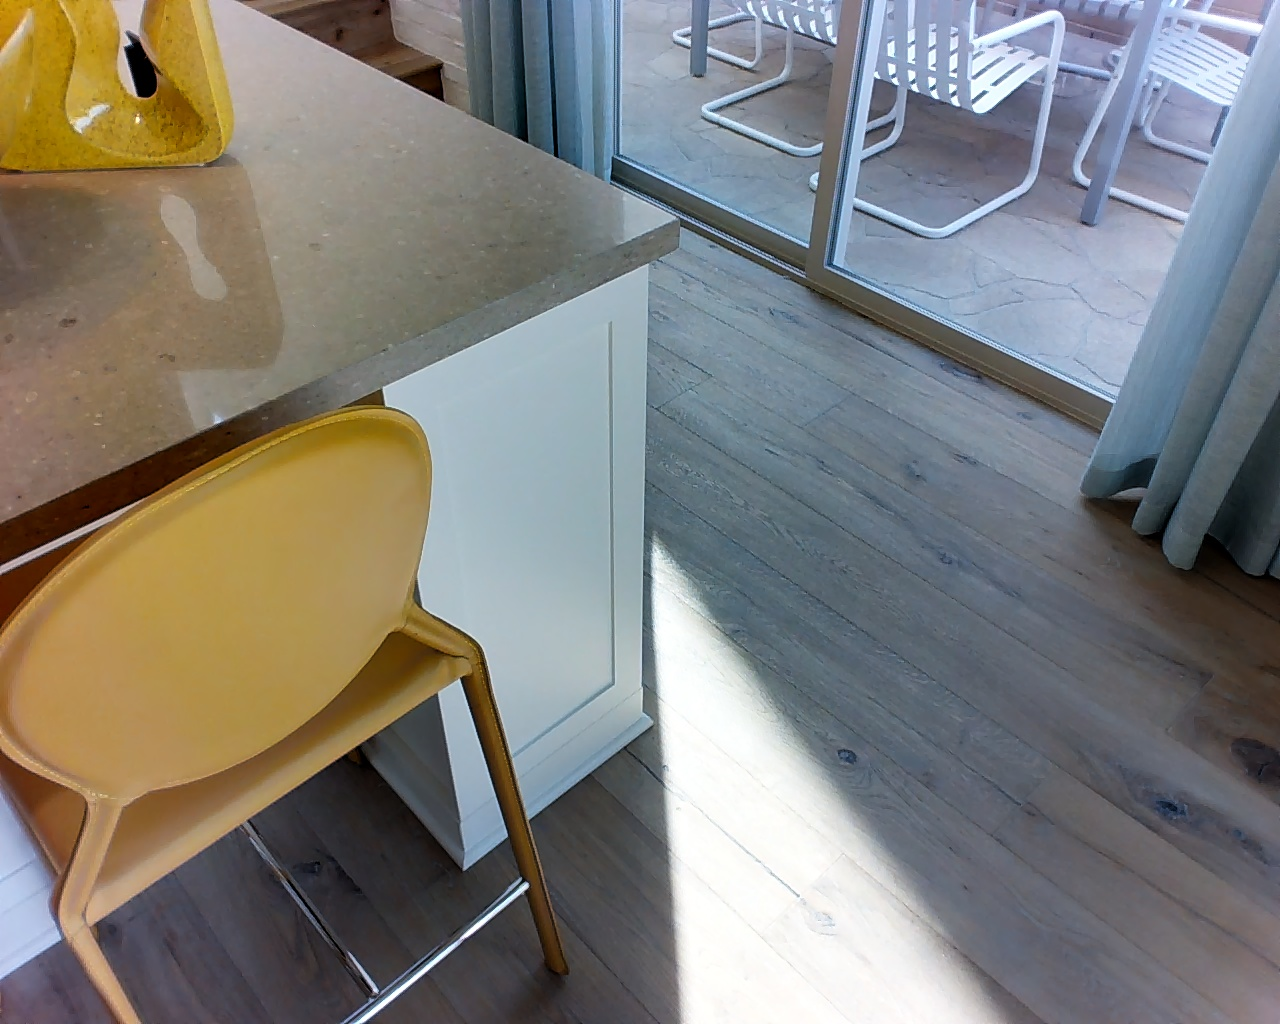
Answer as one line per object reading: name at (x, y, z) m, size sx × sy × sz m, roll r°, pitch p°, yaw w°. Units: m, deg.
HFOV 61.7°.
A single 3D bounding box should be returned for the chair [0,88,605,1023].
chair at (-0.430, 0.240, 1.130) m, size 0.500 × 1.080 × 0.580 m, roll -33°, pitch 52°, yaw -32°
